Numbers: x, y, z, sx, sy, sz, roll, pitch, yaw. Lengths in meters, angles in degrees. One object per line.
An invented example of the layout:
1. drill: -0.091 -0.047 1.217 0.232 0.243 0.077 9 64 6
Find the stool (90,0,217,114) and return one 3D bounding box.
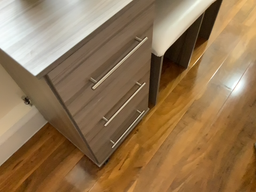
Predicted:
1. stool: 0.140 -0.290 1.140 0.370 0.530 0.470 32 64 20
